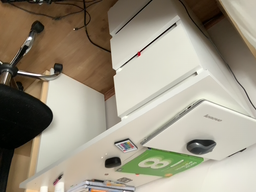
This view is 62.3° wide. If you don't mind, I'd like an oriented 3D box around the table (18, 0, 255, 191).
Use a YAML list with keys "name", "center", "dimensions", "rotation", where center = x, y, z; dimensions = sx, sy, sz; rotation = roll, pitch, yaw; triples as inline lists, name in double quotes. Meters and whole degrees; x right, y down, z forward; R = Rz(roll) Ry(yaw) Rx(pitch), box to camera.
- name: "table"
  center: [-0.010, -0.030, 1.070]
  dimensions: [0.870, 0.760, 0.510]
  rotation: [-33, 136, 28]
